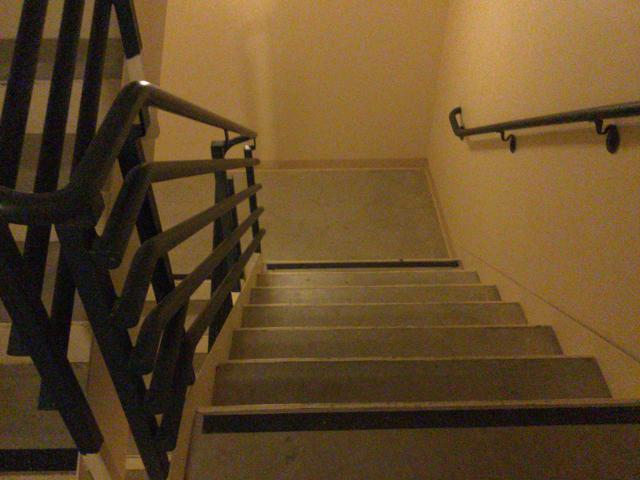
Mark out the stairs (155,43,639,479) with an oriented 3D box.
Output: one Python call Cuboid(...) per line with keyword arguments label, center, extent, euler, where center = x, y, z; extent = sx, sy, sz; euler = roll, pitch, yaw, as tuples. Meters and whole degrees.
Cuboid(label="stairs", center=(0.230, 0.370, 2.330), extent=(1.220, 1.320, 2.140), euler=(-1, 48, 0))
